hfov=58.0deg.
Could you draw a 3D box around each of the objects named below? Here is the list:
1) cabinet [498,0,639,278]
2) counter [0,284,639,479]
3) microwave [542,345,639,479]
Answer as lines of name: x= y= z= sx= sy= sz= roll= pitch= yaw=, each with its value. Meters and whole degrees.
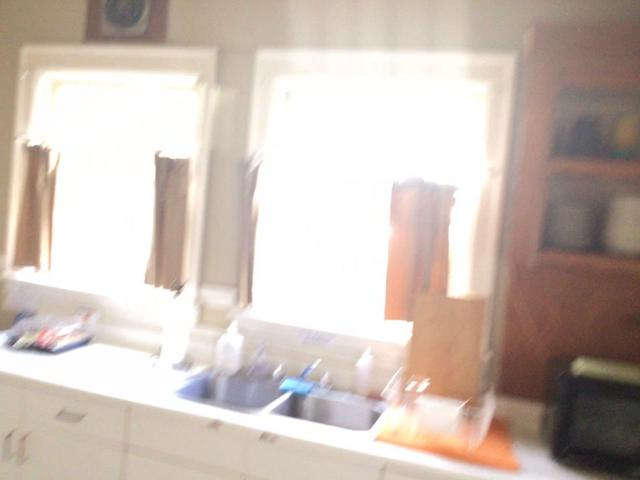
cabinet: x=1.100 y=-0.270 z=1.850 sx=0.930 sy=0.790 sz=0.490 roll=7 pitch=-1 yaw=17
counter: x=-0.040 y=0.530 z=2.110 sx=3.020 sy=0.310 sz=0.660 roll=7 pitch=-1 yaw=17
microwave: x=1.000 y=0.560 z=1.880 sx=0.460 sy=0.310 sz=0.400 roll=7 pitch=-1 yaw=17
